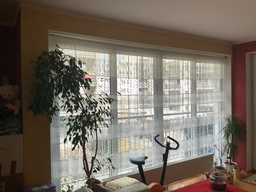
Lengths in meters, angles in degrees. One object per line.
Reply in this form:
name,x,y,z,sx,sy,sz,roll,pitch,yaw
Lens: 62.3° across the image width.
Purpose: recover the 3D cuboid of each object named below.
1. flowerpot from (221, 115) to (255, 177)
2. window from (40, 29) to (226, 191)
flowerpot,2.150,0.940,4.180,0.370,1.090,0.500,-1,1,-8
window,0.470,0.350,3.480,3.520,2.290,0.230,-1,1,-33
